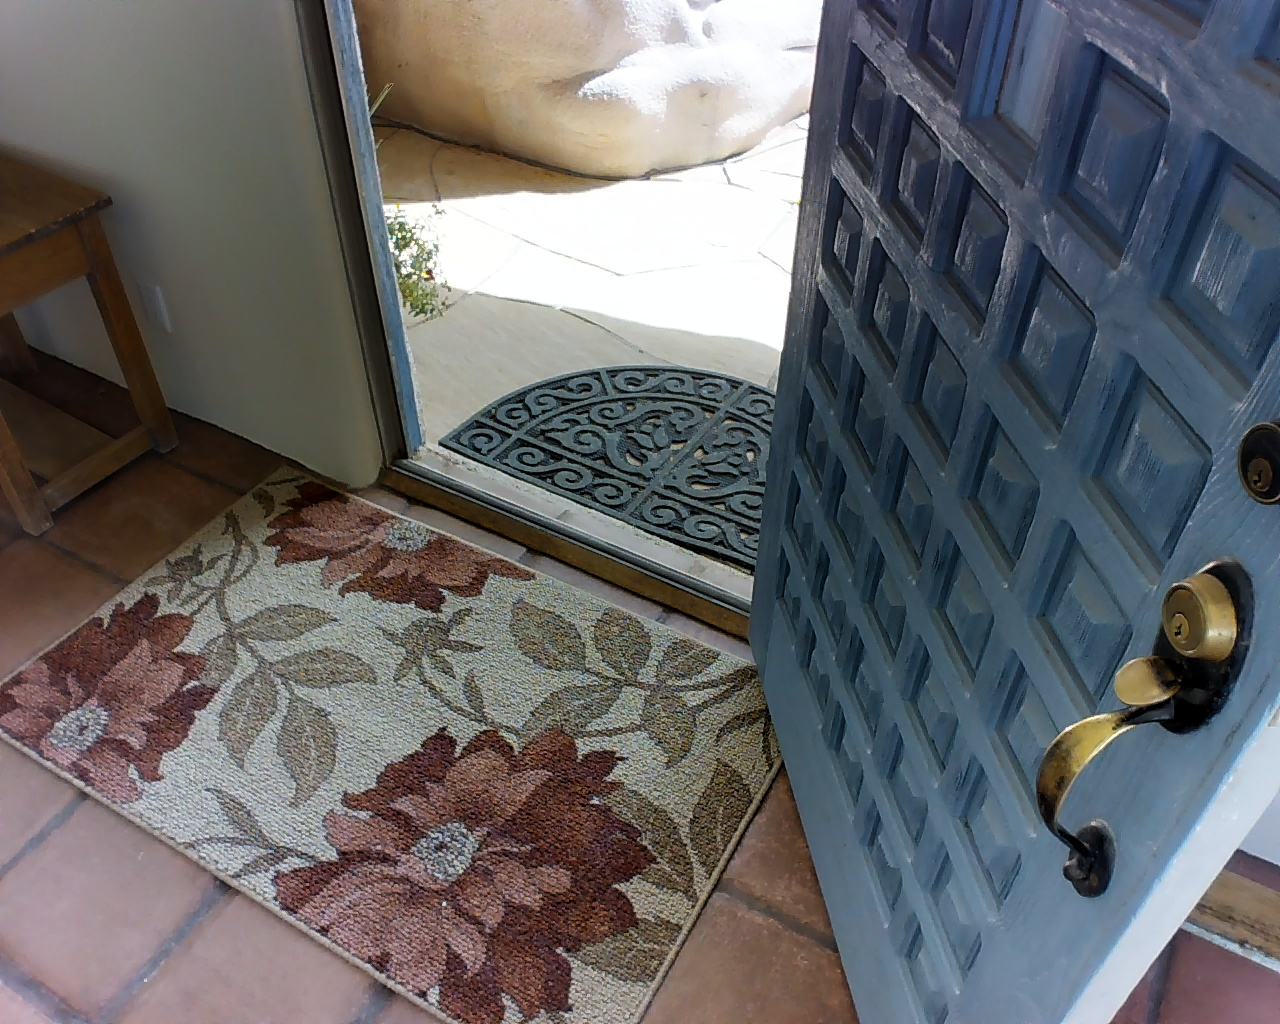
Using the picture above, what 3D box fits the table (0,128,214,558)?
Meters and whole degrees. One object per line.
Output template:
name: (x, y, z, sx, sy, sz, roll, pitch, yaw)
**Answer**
table: (-1.370, -0.390, 2.170, 0.680, 0.600, 0.490, 21, 46, 21)
